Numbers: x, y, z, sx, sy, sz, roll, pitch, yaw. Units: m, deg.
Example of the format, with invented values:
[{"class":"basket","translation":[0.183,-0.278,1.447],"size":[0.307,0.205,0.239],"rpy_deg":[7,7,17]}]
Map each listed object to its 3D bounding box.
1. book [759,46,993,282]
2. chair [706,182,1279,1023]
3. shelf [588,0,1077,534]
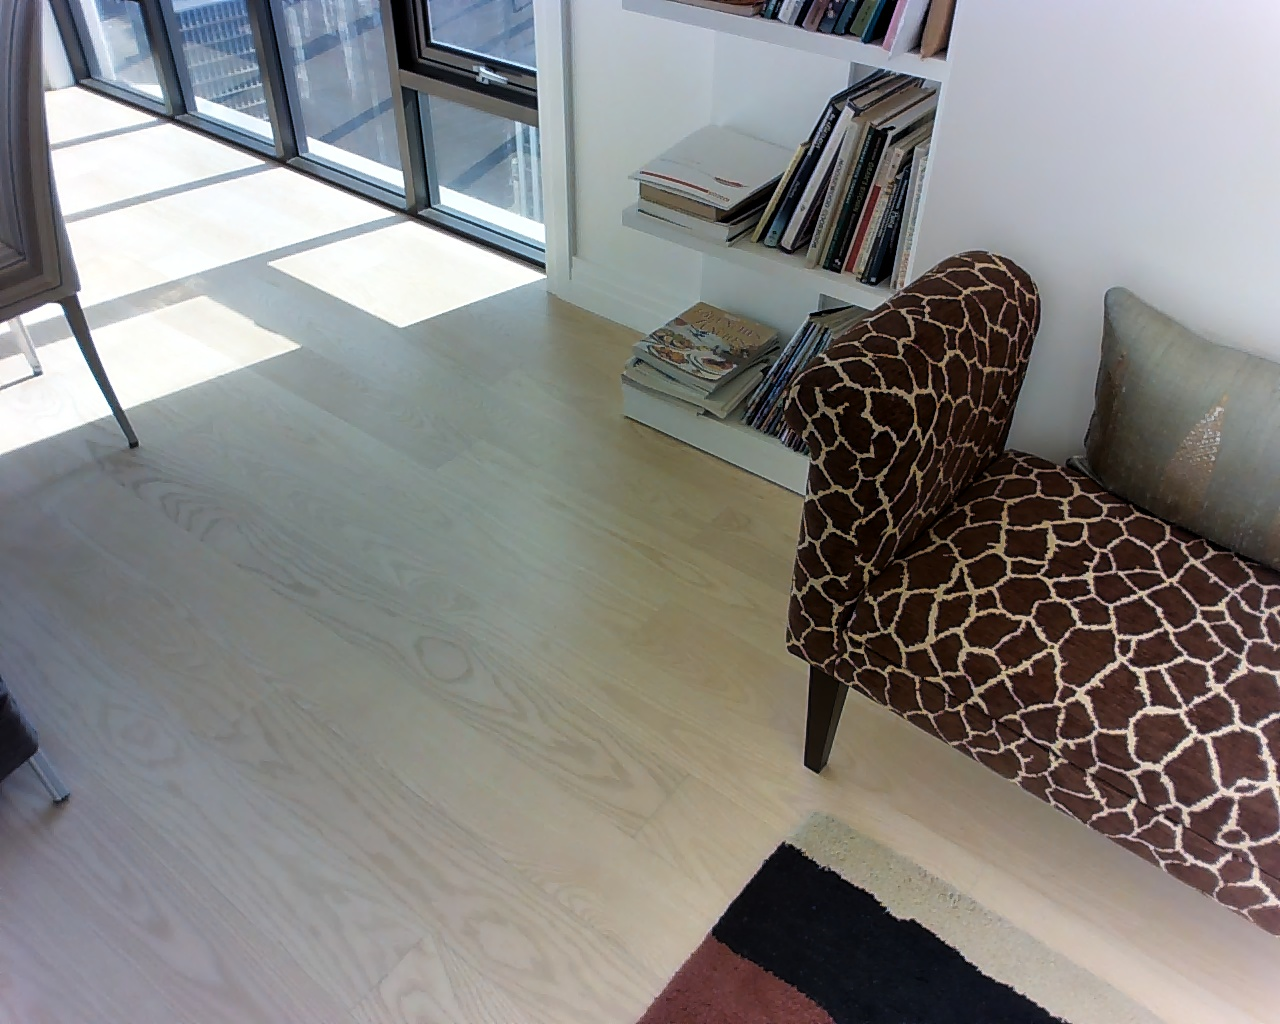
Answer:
[{"class":"book","translation":[0.410,-0.620,1.900],"size":[0.250,0.260,0.310],"rpy_deg":[28,48,28]},{"class":"chair","translation":[0.760,0.220,1.320],"size":[1.260,0.740,0.550],"rpy_deg":[31,50,30]},{"class":"shelf","translation":[0.310,-0.870,1.790],"size":[0.700,1.770,0.400],"rpy_deg":[27,48,27]}]
